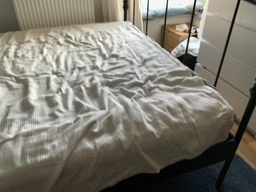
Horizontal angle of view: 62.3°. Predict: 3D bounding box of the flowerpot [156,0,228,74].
[{"bbox_3d":[0.710,-0.920,2.390,0.540,1.170,0.440,-15,38,-22],"label":"flowerpot"}]
